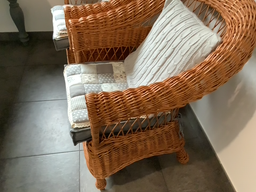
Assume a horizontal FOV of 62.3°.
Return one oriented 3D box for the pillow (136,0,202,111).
[{"bbox_3d":[0.160,-0.200,0.990,0.180,0.430,0.340,-4,17,-8],"label":"pillow"}]
